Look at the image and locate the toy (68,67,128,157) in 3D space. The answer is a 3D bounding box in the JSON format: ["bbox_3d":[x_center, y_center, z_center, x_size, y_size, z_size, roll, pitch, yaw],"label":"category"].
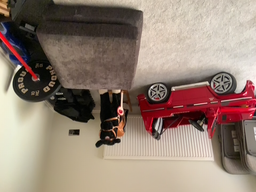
[{"bbox_3d":[-0.260,0.250,2.450,0.490,0.740,0.990,0,155,2],"label":"toy"}]
